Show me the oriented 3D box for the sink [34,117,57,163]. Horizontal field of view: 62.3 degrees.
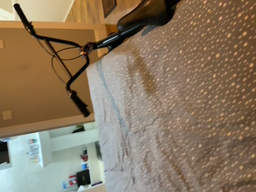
[{"bbox_3d":[-1.210,0.620,3.100,0.370,0.210,0.590,-9,89,63],"label":"sink"}]
